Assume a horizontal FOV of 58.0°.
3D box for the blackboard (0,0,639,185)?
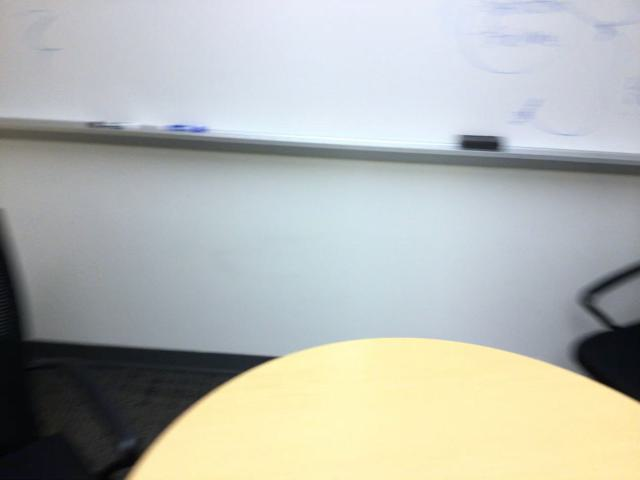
[{"bbox_3d":[0.110,-0.420,1.550,2.450,0.430,0.170,3,25,2],"label":"blackboard"}]
